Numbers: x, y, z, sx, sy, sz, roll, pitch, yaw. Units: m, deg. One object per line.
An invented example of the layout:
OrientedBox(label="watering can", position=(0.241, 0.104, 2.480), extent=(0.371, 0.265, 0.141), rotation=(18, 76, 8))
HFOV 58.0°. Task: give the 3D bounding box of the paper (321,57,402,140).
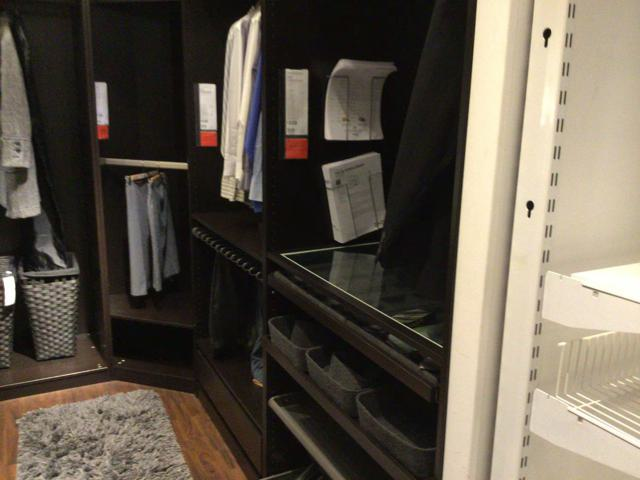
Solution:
OrientedBox(label="paper", position=(0.140, -0.480, 1.980), extent=(0.240, 0.260, 0.130), rotation=(-6, 14, -27))

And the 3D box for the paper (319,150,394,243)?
OrientedBox(label="paper", position=(0.130, -0.160, 2.070), extent=(0.250, 0.310, 0.070), rotation=(-6, 17, -28))
